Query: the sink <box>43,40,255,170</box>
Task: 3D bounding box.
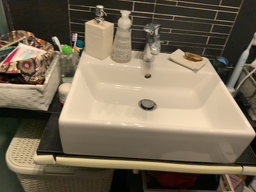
[{"bbox_3d":[0.060,0.000,0.710,0.530,0.160,0.430,4,38,-5],"label":"sink"}]
